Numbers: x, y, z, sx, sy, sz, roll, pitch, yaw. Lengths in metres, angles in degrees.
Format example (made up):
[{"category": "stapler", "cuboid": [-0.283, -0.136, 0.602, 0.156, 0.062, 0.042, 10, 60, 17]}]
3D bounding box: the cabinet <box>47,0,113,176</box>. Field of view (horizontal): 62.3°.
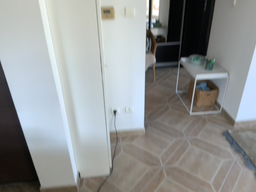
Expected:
[{"category": "cabinet", "cuboid": [-0.330, -0.460, 1.550, 0.300, 2.400, 0.520, -3, 30, -5]}]
